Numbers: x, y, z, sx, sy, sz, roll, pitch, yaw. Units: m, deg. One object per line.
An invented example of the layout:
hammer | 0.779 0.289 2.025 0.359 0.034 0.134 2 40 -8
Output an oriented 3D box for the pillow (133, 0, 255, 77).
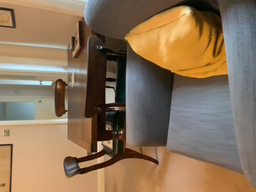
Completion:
pillow | 0.240 -0.230 0.870 0.430 0.340 0.170 -161 49 -82

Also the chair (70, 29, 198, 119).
chair | 0.020 -0.140 1.620 0.520 0.820 0.510 -170 81 -65

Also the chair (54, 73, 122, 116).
chair | -0.560 0.000 2.900 0.510 0.810 0.500 168 101 -65

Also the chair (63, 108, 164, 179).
chair | -0.160 0.400 2.030 0.510 0.820 0.520 165 104 -65

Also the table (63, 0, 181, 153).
table | -0.180 -0.110 2.150 1.210 0.750 1.090 168 101 -65
